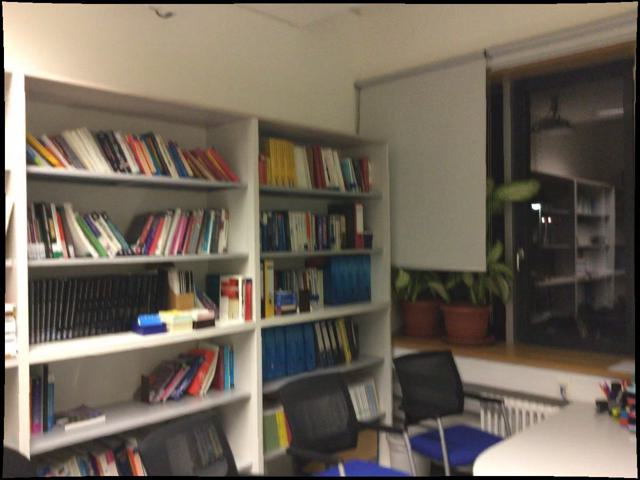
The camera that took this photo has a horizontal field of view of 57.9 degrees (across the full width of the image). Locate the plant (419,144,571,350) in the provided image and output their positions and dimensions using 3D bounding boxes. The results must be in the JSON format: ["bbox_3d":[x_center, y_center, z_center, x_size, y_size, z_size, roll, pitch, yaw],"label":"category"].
[{"bbox_3d":[1.109,0.030,3.690,0.780,1.161,0.480,0,3,44],"label":"plant"}]

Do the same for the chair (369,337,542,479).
[{"bbox_3d":[0.779,1.081,3.280,0.640,0.871,0.760,0,3,44],"label":"chair"}]

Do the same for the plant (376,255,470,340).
[{"bbox_3d":[0.709,0.370,3.960,0.420,0.501,0.490,0,3,44],"label":"plant"}]

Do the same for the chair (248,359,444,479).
[{"bbox_3d":[0.130,1.101,2.720,0.630,0.871,0.660,0,3,44],"label":"chair"}]
